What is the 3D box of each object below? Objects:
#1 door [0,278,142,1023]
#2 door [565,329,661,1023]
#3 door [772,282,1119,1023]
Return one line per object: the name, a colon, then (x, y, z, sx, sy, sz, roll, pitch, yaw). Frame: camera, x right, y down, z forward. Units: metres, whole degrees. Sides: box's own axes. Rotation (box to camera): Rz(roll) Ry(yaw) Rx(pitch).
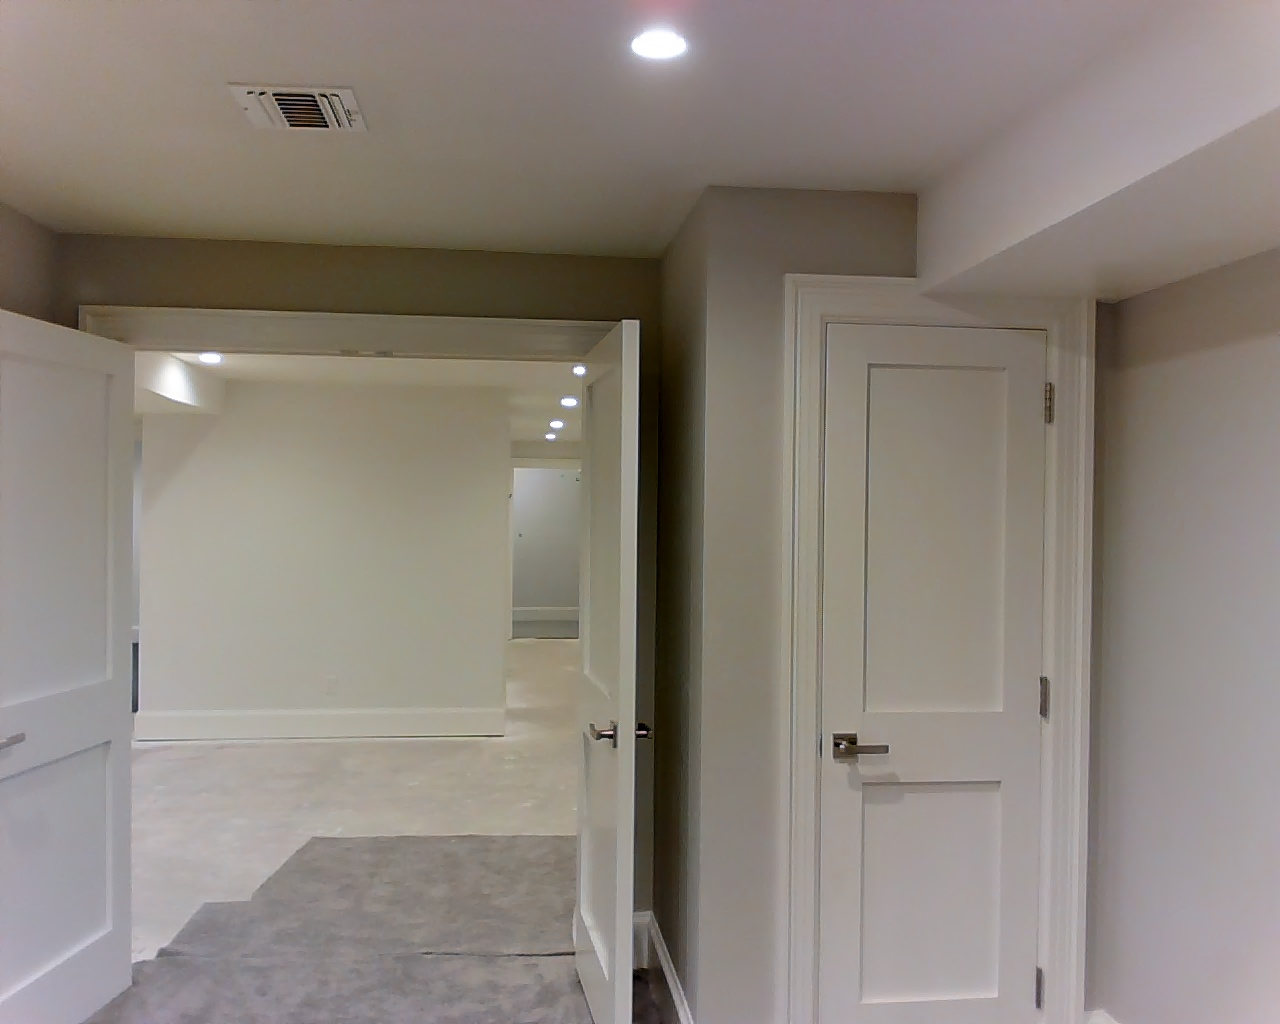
door: (-1.660, 0.460, 3.040, 0.050, 2.120, 0.800, 1, 0, 5)
door: (-0.100, 0.530, 3.270, 0.110, 2.020, 0.870, 1, 0, -12)
door: (0.830, 0.470, 2.900, 0.940, 2.140, 0.040, 1, 0, -7)
